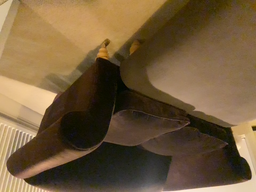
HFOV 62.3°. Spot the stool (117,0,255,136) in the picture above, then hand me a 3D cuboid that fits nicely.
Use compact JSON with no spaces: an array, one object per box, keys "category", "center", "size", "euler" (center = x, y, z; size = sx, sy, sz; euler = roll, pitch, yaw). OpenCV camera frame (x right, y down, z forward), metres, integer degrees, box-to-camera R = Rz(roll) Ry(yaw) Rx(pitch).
[{"category":"stool","center":[0.610,-0.170,1.120],"size":[1.100,0.360,0.750],"euler":[22,143,-34]}]

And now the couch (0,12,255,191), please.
[{"category":"couch","center":[0.070,0.350,1.630],"size":[1.580,0.730,1.020],"euler":[22,143,-34]}]
